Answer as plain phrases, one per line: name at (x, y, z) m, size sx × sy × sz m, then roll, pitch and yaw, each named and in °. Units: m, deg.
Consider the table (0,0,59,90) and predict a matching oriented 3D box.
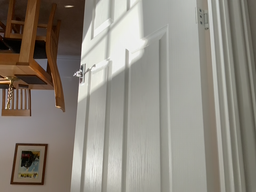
table at (-1.490, -0.540, 2.220) m, size 1.220 × 0.760 × 0.820 m, roll 1°, pitch 168°, yaw -2°
